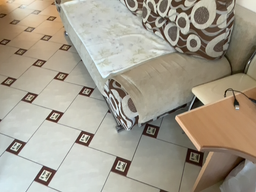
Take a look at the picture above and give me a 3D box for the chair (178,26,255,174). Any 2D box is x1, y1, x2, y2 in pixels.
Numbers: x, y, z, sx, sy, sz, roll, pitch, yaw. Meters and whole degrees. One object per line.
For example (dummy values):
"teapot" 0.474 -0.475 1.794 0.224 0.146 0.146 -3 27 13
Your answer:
"chair" 0.670 0.040 1.270 0.490 0.740 0.380 -20 49 -16

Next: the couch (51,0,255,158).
"couch" -0.030 -0.690 1.900 0.970 0.860 2.030 -20 49 -16
